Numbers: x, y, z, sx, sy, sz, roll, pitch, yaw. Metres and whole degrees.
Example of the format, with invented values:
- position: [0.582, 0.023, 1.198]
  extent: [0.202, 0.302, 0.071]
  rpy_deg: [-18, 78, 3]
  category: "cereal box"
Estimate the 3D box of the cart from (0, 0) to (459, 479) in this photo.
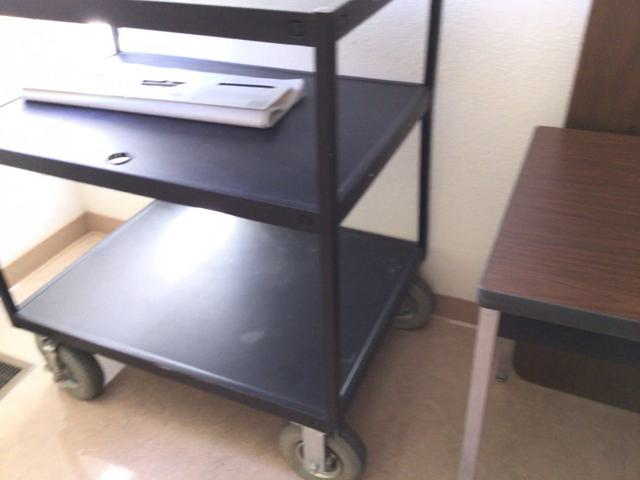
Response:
- position: [-0.300, -0.110, 1.480]
  extent: [1.120, 1.150, 0.780]
  rpy_deg: [8, 33, 21]
  category: "cart"
